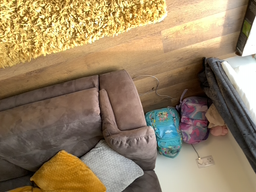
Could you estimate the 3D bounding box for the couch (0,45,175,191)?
[{"bbox_3d":[-0.590,0.580,1.560,1.720,0.960,1.040,-16,143,5],"label":"couch"}]
